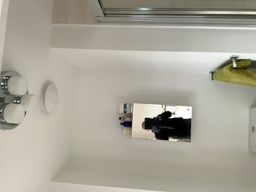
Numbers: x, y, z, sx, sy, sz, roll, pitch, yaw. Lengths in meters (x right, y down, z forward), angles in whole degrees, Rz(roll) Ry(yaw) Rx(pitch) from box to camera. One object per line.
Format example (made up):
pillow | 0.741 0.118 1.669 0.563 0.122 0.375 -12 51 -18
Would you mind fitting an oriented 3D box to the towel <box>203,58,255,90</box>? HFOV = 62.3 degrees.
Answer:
towel | 0.980 -0.150 1.640 0.430 0.660 0.170 34 -121 -84
